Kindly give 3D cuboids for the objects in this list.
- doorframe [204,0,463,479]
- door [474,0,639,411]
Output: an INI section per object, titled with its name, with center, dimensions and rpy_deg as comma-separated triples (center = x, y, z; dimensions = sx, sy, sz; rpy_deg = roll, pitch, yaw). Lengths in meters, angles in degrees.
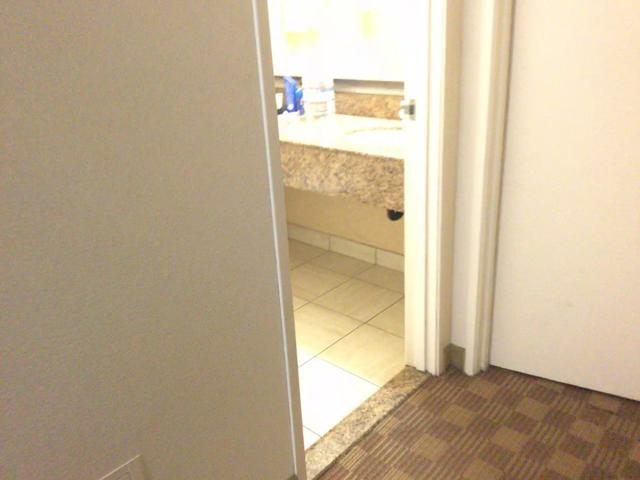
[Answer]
[doorframe]
center = 0.130, -0.130, 1.700
dimensions = 0.160, 1.630, 0.880
rpy_deg = 14, 28, 38
[door]
center = 0.900, -0.360, 1.710
dimensions = 0.710, 1.910, 0.070
rpy_deg = 11, 25, 27
